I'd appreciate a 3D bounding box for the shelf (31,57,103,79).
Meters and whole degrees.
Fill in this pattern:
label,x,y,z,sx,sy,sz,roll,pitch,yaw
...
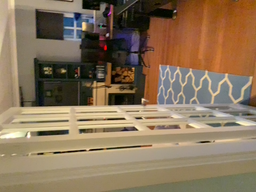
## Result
label,x,y,z,sx,sy,sz,roll,pitch,yaw
shelf,-1.270,-0.590,4.530,0.280,1.420,0.370,-141,53,-68

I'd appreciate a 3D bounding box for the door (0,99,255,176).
label,x,y,z,sx,sy,sz,roll,pitch,yaw
door,0.140,0.160,1.430,0.920,2.090,0.100,-148,60,-70
